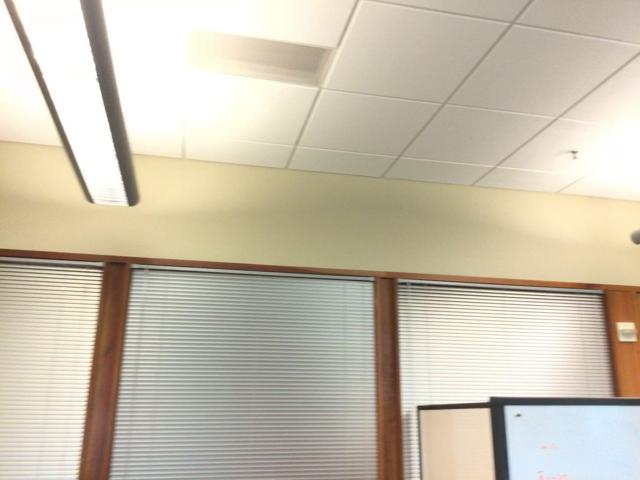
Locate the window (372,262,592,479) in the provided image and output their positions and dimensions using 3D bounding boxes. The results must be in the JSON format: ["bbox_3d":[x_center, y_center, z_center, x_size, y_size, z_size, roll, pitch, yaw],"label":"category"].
[{"bbox_3d":[0.920,1.040,3.230,1.310,1.680,0.210,9,-19,-23],"label":"window"}]
